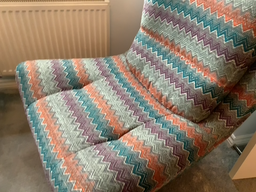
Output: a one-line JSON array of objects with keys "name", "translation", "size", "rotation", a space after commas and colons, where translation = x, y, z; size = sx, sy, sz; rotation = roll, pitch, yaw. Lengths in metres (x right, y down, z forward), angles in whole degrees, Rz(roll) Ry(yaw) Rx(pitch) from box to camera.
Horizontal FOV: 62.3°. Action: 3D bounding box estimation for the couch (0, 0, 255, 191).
[{"name": "couch", "translation": [-0.010, -0.060, 0.920], "size": [0.870, 0.860, 0.860], "rotation": [-17, 44, -25]}]
